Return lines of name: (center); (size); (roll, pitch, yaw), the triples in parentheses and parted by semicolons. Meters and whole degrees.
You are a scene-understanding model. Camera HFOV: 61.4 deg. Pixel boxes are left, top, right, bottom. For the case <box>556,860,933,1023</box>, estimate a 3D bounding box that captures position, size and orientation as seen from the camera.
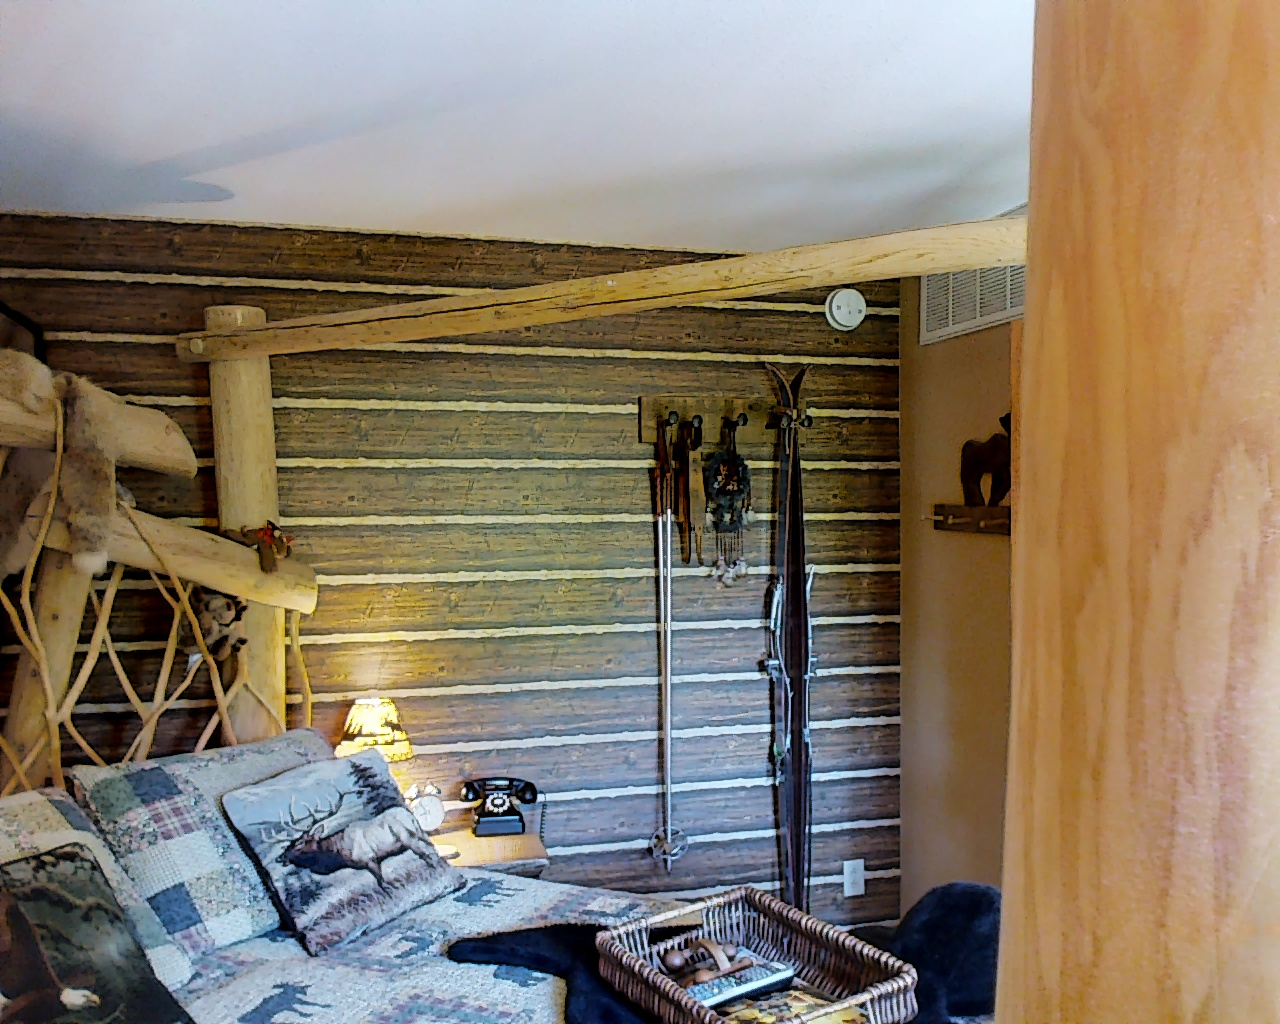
case: (0.140, 0.690, 1.650); (0.350, 0.110, 0.490); (-1, 1, -31)
